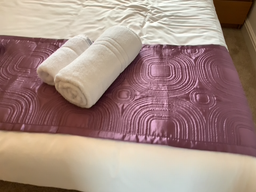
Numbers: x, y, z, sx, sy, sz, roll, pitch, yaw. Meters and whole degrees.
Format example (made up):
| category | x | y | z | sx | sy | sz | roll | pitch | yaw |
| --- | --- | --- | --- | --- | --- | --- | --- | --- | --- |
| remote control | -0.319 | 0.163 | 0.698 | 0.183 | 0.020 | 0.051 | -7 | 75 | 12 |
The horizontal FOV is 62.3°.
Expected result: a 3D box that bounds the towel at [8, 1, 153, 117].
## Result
| category | x | y | z | sx | sy | sz | roll | pitch | yaw |
| --- | --- | --- | --- | --- | --- | --- | --- | --- | --- |
| towel | -0.130 | -0.160 | 0.740 | 0.320 | 0.110 | 0.390 | 17 | 53 | 14 |
